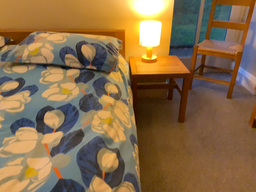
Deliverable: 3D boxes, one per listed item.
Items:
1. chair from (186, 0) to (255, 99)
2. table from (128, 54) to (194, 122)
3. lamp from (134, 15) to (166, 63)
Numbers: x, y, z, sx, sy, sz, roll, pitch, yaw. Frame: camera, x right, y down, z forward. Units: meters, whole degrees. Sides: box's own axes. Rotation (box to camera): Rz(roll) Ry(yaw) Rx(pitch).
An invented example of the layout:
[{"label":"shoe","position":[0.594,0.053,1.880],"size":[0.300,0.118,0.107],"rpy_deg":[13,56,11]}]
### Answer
[{"label":"chair","position":[0.960,-0.520,2.210],"size":[0.450,0.880,0.510],"rpy_deg":[15,33,25]},{"label":"table","position":[0.240,-0.090,1.860],"size":[0.470,0.430,0.470],"rpy_deg":[0,29,-1]},{"label":"lamp","position":[0.170,-0.480,1.780],"size":[0.220,0.340,0.250],"rpy_deg":[-1,29,-2]}]
